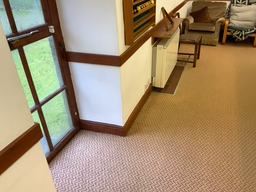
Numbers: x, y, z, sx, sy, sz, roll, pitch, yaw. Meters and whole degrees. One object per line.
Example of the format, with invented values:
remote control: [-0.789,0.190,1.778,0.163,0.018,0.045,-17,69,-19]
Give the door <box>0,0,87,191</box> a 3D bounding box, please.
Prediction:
door: [-0.780,-0.120,1.490,0.090,1.770,1.130,13,34,24]

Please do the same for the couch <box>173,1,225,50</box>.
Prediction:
couch: [1.580,-1.610,4.710,0.890,0.810,0.950,11,33,20]
